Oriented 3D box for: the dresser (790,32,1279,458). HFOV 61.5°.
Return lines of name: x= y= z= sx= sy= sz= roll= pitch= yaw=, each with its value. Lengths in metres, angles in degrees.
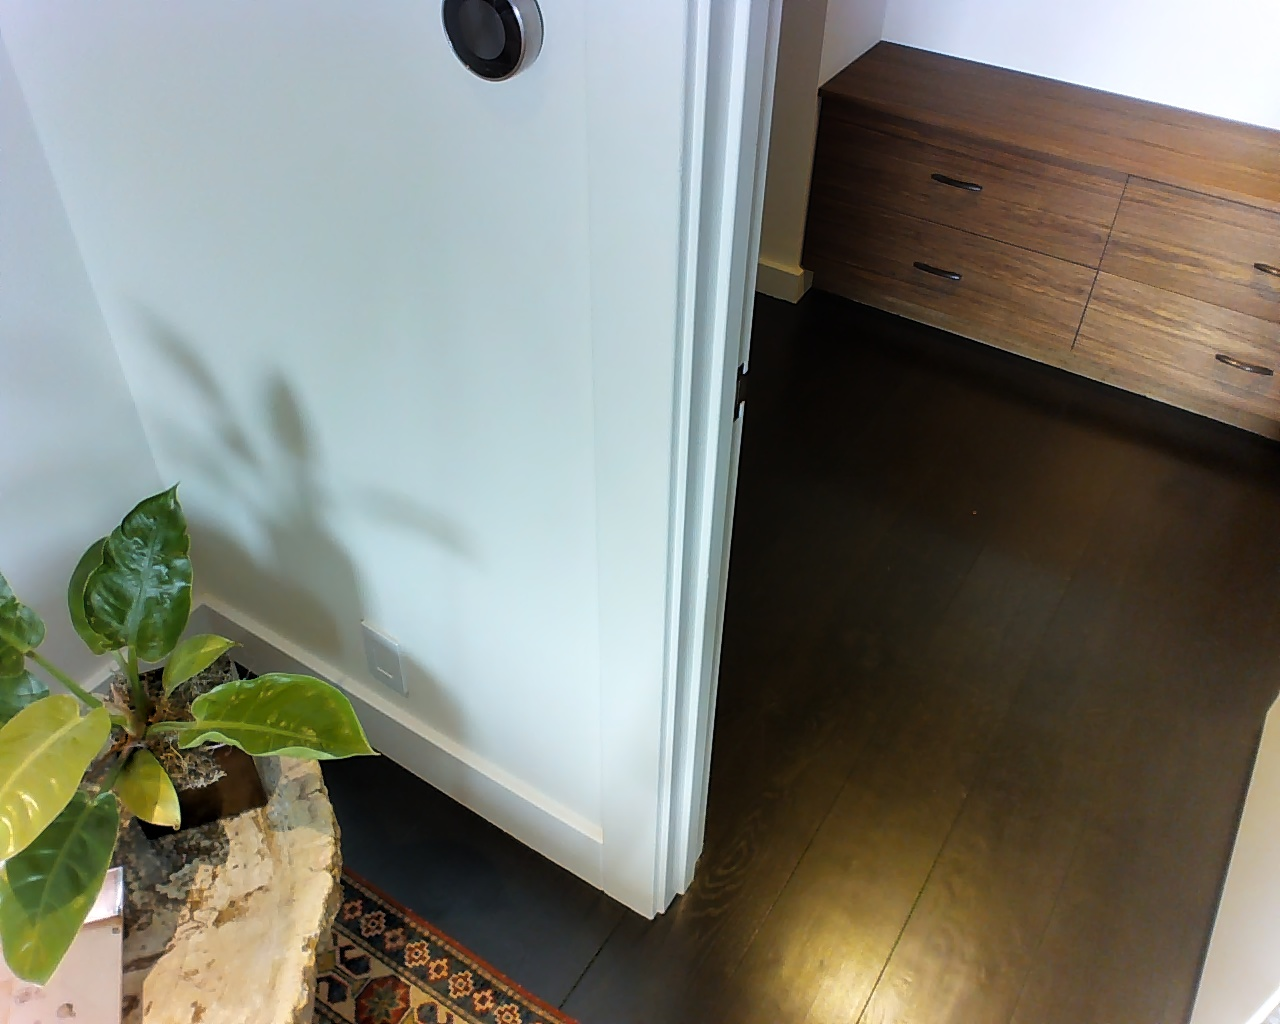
dresser: x=1.140 y=-0.640 z=2.560 sx=1.470 sy=0.580 sz=0.420 roll=24 pitch=47 yaw=23
